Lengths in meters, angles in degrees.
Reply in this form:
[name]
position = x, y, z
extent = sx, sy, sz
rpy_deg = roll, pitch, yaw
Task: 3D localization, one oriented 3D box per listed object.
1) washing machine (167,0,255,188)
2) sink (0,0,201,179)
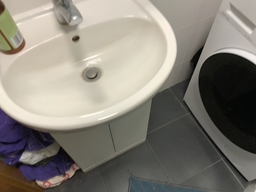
[washing machine]
position = 0.630, -0.040, 1.010
extent = 0.500, 0.850, 0.610
rpy_deg = -24, 62, -14
[sink]
position = -0.130, -0.080, 0.640
extent = 0.480, 0.210, 0.410
rpy_deg = -25, 62, -14
